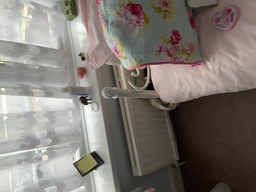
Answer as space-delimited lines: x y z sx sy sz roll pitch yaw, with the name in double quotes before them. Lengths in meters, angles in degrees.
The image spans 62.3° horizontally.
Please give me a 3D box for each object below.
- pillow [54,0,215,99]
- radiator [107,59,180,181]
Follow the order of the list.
"pillow" -0.020 -0.540 0.960 0.420 0.500 0.940 -14 99 40
"radiator" 0.120 0.130 1.400 0.090 0.470 0.690 -17 79 39
